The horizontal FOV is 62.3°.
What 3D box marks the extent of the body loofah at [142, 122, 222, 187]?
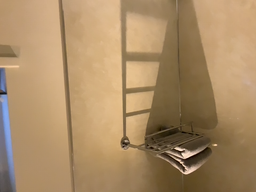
[{"bbox_3d":[0.360,0.350,1.400,0.390,0.240,0.340,-8,-173,-40],"label":"body loofah"}]
